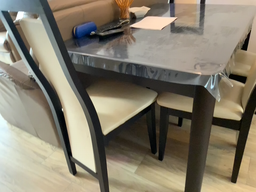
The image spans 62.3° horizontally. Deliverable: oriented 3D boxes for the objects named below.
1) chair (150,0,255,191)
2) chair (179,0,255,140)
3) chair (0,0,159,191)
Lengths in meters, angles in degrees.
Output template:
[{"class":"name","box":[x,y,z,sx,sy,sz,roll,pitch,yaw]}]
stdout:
[{"class":"chair","box":[0.460,-0.070,1.130,0.560,1.070,0.410,13,36,25]},{"class":"chair","box":[0.740,-0.310,1.480,0.560,1.070,0.380,21,40,33]},{"class":"chair","box":[-0.170,-0.010,1.100,0.420,1.070,0.560,19,39,31]}]
